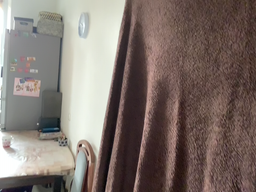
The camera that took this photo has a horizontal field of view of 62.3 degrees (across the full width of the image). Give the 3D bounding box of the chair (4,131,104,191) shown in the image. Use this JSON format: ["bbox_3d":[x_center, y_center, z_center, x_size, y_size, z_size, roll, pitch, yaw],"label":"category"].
[{"bbox_3d":[-0.570,0.830,1.540,0.550,1.010,0.480,2,6,-34],"label":"chair"}]
